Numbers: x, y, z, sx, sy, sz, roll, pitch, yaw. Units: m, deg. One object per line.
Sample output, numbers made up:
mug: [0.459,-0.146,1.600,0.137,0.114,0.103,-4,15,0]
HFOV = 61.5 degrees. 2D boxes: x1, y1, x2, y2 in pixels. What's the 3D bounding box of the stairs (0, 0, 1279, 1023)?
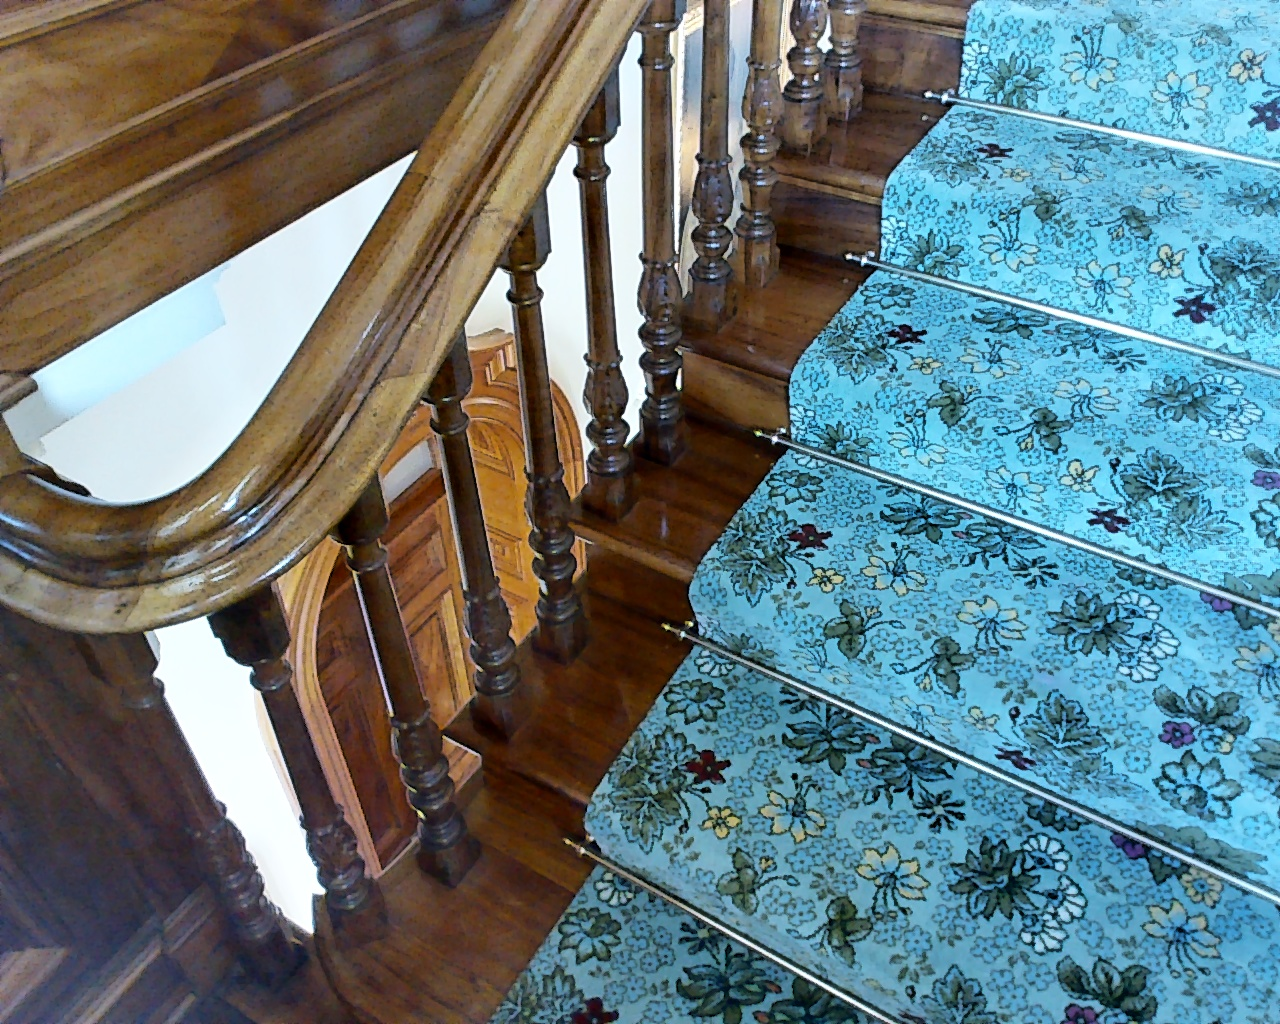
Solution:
stairs: [0.970,-0.470,1.530,1.530,1.500,2.940,23,47,24]
